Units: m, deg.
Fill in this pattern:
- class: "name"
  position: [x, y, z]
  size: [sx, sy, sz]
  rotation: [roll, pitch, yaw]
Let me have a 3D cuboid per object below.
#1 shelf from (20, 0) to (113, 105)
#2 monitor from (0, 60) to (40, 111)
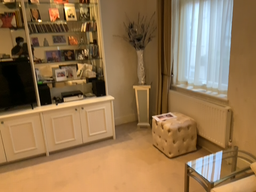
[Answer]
- class: "shelf"
  position: [-0.870, -0.870, 3.090]
  size: [1.100, 1.790, 0.350]
  rotation: [-11, 17, -24]
- class: "monitor"
  position: [-1.670, -0.100, 2.650]
  size: [0.980, 0.600, 0.040]
  rotation: [-12, 18, -27]
